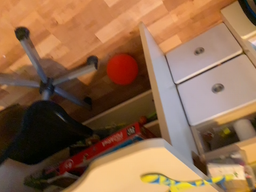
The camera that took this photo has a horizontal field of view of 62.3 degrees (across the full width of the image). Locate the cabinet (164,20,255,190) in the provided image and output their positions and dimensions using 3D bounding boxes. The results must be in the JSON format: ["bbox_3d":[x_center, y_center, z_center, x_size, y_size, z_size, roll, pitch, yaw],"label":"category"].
[{"bbox_3d":[0.490,0.040,1.060,0.320,0.640,0.460,-27,134,22],"label":"cabinet"}]
